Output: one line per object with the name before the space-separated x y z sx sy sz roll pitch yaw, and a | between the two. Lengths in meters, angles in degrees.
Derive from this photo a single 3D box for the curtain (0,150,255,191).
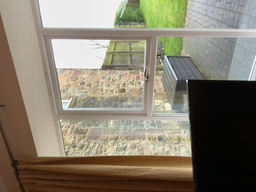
curtain | 0.280 0.850 1.950 0.170 2.650 0.810 -91 2 -57
